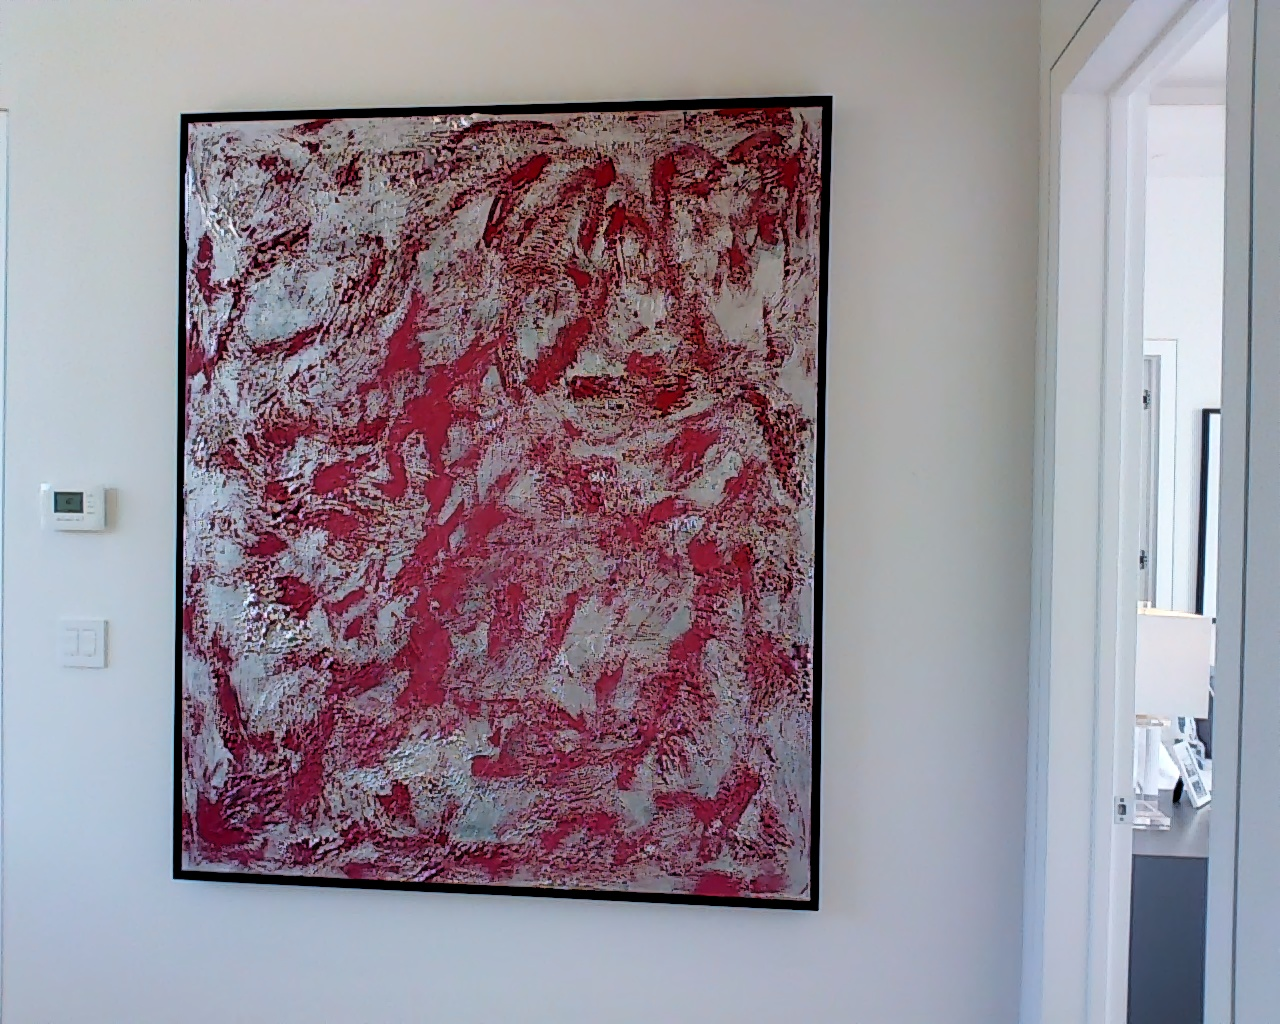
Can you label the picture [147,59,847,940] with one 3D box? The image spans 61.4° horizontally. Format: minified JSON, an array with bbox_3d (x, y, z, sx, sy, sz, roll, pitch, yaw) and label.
[{"bbox_3d":[-0.360,-0.040,2.550,1.630,1.980,0.080,1,0,6],"label":"picture"}]
